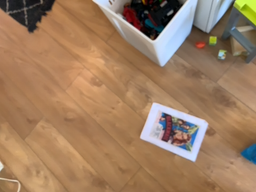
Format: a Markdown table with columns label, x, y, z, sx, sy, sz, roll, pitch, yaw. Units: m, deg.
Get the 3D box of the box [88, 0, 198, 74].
| label | x | y | z | sx | sy | sz | roll | pitch | yaw |
| --- | --- | --- | --- | --- | --- | --- | --- | --- | --- |
| box | 0.090 | -0.400 | 1.090 | 0.380 | 0.420 | 0.300 | 44 | 92 | 15 |
